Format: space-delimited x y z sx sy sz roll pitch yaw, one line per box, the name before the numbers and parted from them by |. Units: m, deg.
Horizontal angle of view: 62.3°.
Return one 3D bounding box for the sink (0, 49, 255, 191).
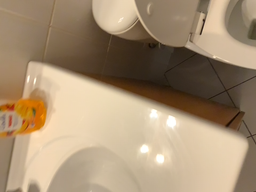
sink | -0.090 0.340 0.550 0.520 0.200 0.790 20 101 28
